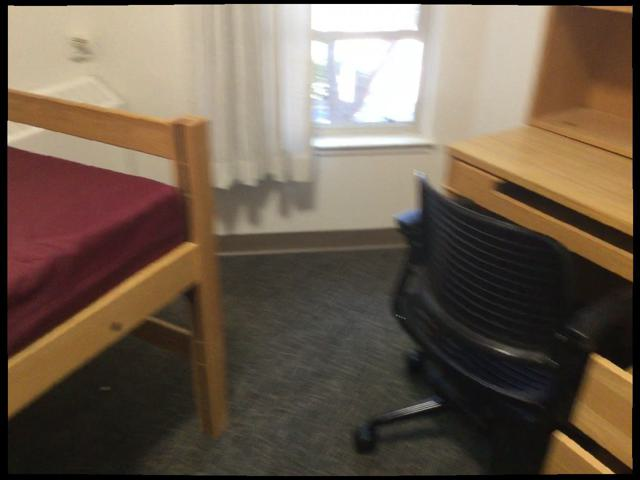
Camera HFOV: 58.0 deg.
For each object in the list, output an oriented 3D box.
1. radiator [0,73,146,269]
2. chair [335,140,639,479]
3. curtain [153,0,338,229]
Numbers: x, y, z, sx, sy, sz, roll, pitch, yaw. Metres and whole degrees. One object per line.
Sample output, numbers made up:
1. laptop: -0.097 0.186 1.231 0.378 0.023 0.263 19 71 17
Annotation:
1. radiator: -1.028 -0.301 2.220 0.210 0.501 0.730 13 32 21
2. chair: 0.459 0.140 1.370 0.669 0.511 0.500 18 34 28
3. curtain: -0.289 -0.691 2.160 0.559 1.122 0.500 -9 31 -18
